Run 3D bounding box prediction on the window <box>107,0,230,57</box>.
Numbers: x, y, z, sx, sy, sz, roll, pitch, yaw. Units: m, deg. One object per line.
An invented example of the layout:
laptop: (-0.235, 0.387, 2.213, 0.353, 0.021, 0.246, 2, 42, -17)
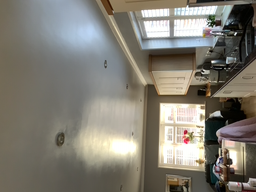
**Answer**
window: (0.530, -1.110, 2.820, 2.410, 1.310, 0.310, 43, -131, -75)
